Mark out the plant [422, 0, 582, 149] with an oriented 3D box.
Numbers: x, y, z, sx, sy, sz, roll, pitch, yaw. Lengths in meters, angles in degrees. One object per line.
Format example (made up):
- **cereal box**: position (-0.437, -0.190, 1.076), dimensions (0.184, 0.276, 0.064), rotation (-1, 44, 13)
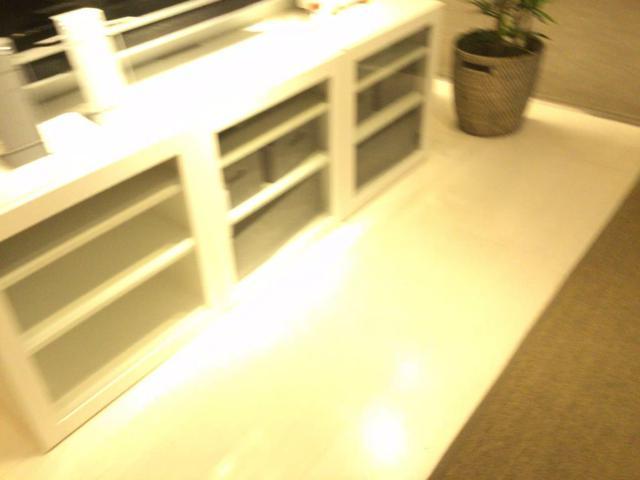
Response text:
- **plant**: position (0.750, -0.790, 2.480), dimensions (0.460, 0.570, 0.420), rotation (-20, 38, -15)
